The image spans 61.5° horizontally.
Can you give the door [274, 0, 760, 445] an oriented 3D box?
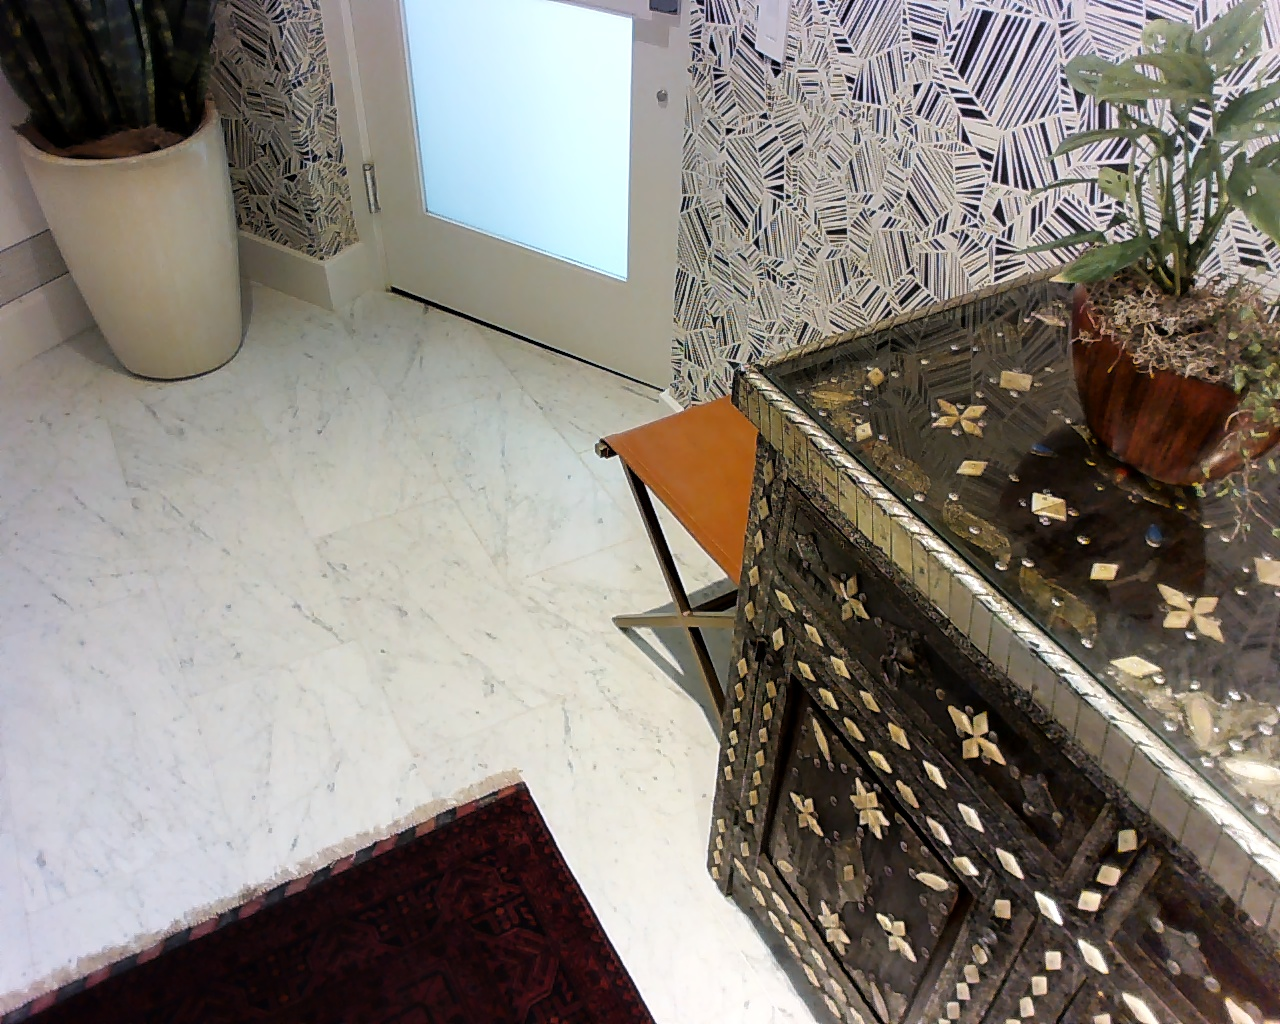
[{"bbox_3d":[-0.290,-1.220,2.040,1.090,2.210,0.190,22,47,22],"label":"door"}]
